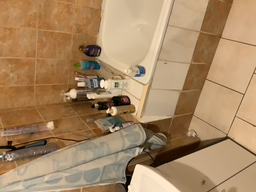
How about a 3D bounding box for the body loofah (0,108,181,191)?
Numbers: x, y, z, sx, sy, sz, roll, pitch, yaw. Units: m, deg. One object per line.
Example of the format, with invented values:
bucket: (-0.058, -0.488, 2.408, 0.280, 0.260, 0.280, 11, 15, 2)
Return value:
body loofah: (-0.170, 0.300, 1.130, 0.290, 0.950, 0.260, 38, 123, 43)
